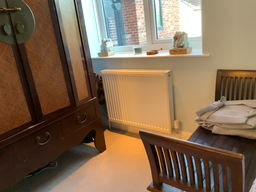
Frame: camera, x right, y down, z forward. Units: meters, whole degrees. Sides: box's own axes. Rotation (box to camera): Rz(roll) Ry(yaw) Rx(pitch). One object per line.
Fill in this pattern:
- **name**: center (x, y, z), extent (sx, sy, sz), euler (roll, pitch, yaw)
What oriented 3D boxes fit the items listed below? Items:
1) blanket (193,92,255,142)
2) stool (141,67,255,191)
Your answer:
- **blanket**: center (0.680, 0.120, 1.450), extent (0.300, 0.130, 0.430), euler (9, 25, 40)
- **stool**: center (0.580, 0.320, 1.280), extent (0.390, 0.750, 1.090), euler (8, 24, 37)
